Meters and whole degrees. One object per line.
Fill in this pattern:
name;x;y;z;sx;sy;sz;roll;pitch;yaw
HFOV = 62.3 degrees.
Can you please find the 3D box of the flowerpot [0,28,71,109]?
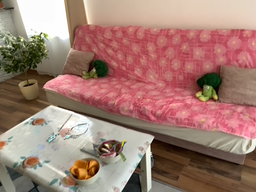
flowerpot;-1.310;-0.400;2.800;0.700;0.820;0.630;10;31;23
